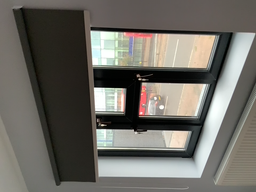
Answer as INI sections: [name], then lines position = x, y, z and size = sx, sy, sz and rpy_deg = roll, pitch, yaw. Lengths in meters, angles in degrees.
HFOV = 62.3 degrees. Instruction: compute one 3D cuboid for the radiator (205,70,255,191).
[radiator]
position = 1.110, 0.290, 1.640
size = 0.100, 0.610, 1.540
rpy_deg = -92, 5, -56
